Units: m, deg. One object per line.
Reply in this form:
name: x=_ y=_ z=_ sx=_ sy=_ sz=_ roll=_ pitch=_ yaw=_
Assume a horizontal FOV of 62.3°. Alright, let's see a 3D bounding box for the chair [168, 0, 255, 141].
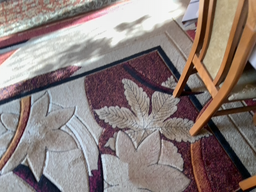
chair: x=0.550 y=-0.180 z=1.020 sx=0.470 sy=0.970 sz=0.390 roll=-9 pitch=58 yaw=-5
